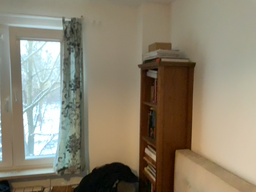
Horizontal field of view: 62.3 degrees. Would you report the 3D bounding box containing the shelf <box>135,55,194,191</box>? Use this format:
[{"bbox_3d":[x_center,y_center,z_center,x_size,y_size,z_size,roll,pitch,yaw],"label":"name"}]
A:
[{"bbox_3d":[0.320,0.610,2.100,0.310,1.930,0.540,0,5,-17],"label":"shelf"}]
